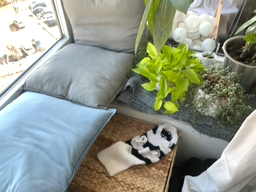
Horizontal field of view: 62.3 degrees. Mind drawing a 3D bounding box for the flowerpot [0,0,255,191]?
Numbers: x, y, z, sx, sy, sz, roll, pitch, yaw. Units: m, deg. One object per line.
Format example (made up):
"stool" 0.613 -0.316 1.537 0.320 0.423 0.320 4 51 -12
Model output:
"flowerpot" 0.070 0.130 0.790 0.440 1.170 0.540 11 48 11
